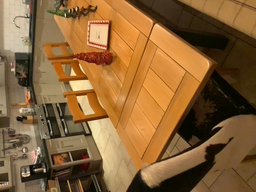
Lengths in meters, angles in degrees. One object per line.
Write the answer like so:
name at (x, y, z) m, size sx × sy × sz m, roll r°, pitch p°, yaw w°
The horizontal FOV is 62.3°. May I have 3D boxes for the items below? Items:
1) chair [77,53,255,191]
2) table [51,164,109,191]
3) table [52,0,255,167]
chair at (0.400, 0.160, 1.220) m, size 0.640 × 1.150 × 0.480 m, roll 54°, pitch 134°, yaw 42°
table at (-0.870, 1.700, 3.730) m, size 0.500 × 0.790 × 0.720 m, roll 56°, pitch 136°, yaw 40°
table at (-0.060, -0.850, 2.260) m, size 3.000 × 0.790 × 0.890 m, roll 55°, pitch 135°, yaw 41°
